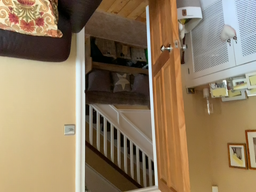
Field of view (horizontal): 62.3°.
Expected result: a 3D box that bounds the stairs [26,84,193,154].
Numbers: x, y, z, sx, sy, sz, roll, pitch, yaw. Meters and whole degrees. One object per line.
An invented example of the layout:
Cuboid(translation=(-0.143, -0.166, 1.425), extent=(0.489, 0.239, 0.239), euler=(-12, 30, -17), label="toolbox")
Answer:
Cuboid(translation=(-0.260, 0.470, 4.080), extent=(3.000, 0.480, 1.120), euler=(3, 132, -29), label="stairs")

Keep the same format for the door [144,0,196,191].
Cuboid(translation=(0.310, -0.190, 1.880), extent=(0.080, 2.060, 0.770), euler=(-1, 171, -8), label="door")

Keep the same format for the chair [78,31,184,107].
Cuboid(translation=(0.070, -0.370, 3.720), extent=(1.730, 1.030, 0.620), euler=(2, 170, -28), label="chair")
